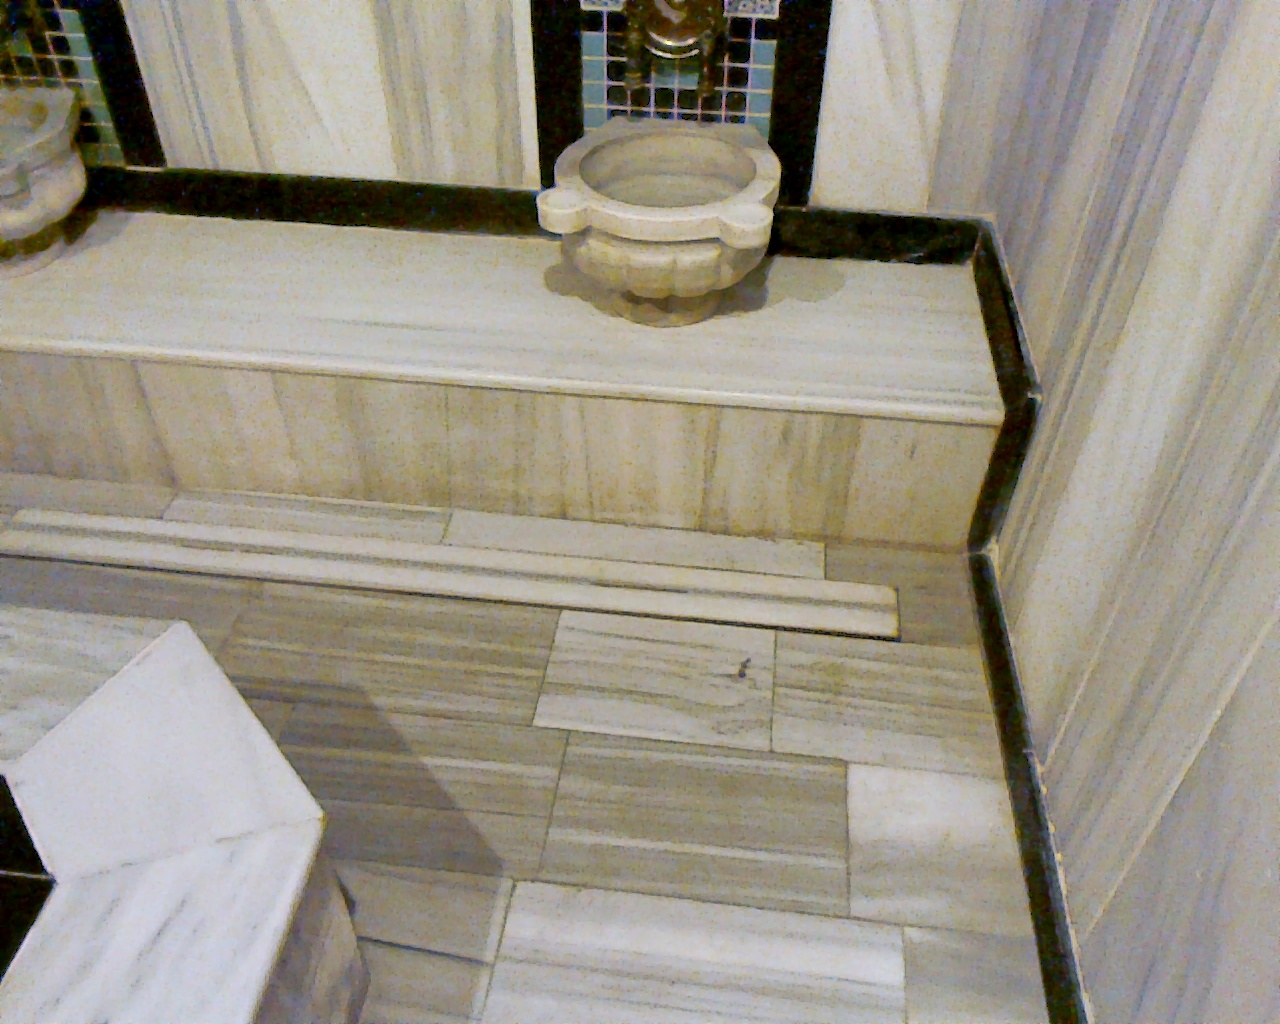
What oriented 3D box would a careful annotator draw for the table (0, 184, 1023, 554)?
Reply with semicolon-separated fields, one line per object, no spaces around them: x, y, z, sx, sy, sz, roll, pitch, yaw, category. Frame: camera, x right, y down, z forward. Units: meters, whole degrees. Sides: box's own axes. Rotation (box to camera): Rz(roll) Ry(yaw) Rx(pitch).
-1.420;-0.450;2.620;4.410;0.410;0.630;5;43;5;table

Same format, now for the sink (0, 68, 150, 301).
-1.470;-0.750;2.420;0.450;0.320;0.460;5;43;5;sink

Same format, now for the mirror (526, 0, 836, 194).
0.080;-1.150;2.070;0.620;1.090;0.050;5;43;5;mirror

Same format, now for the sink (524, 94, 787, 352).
0.050;-0.620;2.270;0.480;0.320;0.470;5;43;5;sink
